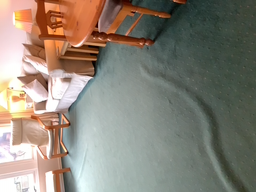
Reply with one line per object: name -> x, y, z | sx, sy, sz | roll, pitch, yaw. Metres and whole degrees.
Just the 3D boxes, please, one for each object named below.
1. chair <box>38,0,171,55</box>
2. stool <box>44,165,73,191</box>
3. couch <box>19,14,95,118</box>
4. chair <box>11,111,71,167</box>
chair -> -0.210, -0.720, 1.710 | 0.530, 0.860, 0.500 | -39, 59, 53
stool -> -1.390, 1.800, 4.240 | 0.650, 0.370, 0.680 | -38, 60, 53
couch -> -1.300, -0.360, 3.550 | 1.690, 0.810, 0.890 | -41, 57, 52
chair -> -1.720, 0.770, 4.150 | 0.790, 0.960, 0.680 | 29, 116, 55
